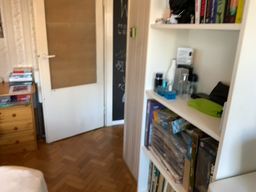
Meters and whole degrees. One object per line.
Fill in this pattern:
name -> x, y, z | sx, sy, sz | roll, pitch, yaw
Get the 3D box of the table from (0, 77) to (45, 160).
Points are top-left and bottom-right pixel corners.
table -> -1.230, 0.230, 2.500 | 0.400, 0.790, 0.530 | -4, 19, -21
